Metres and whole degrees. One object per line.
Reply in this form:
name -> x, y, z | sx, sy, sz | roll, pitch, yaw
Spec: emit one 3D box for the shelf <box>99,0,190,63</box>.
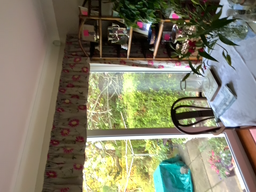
shelf -> 0.160, -0.860, 2.870 | 0.640, 1.080, 0.490 | 100, 167, -52
